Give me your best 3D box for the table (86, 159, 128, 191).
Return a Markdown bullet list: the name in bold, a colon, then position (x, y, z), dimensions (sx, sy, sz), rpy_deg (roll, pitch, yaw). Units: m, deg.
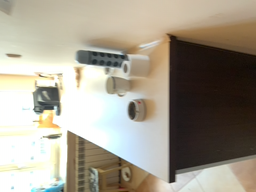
- **table**: position (-0.260, 1.000, 2.630), dimensions (0.250, 0.450, 0.300), rpy_deg (-1, 88, 59)
